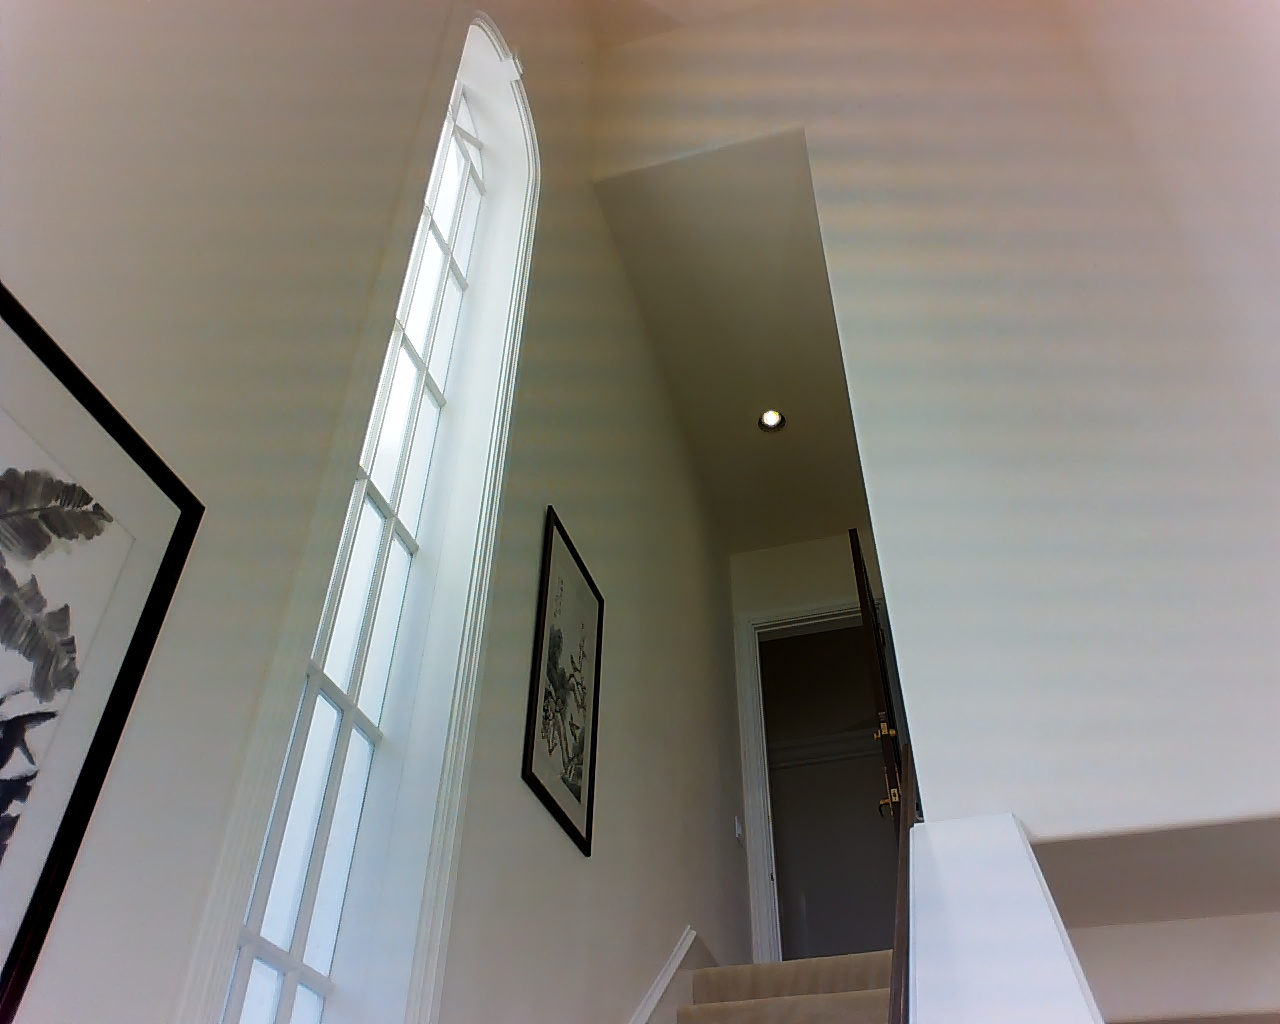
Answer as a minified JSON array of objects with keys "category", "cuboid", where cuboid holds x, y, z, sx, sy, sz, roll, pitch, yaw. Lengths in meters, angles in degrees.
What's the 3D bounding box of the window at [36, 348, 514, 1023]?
[{"category":"window","cuboid":[-0.580,0.560,2.010,0.290,1.680,0.760,-11,-41,13]}]
